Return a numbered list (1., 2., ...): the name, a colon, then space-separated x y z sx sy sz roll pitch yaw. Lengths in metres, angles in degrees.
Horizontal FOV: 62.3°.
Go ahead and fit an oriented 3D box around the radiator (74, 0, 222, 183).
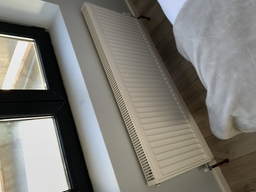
1. radiator: 0.110 -0.150 1.410 0.100 0.610 1.250 -43 60 39
